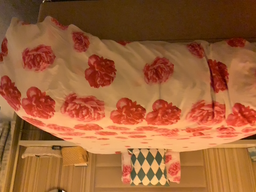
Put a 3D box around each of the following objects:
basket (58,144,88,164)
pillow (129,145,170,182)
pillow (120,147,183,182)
[{"bbox_3d":[-0.670,0.730,2.640,0.280,0.210,0.360,0,161,0],"label":"basket"},{"bbox_3d":[0.220,0.730,2.300,0.410,0.370,0.260,0,161,0],"label":"pillow"},{"bbox_3d":[0.260,0.820,2.540,0.690,0.370,0.320,0,161,1],"label":"pillow"}]
